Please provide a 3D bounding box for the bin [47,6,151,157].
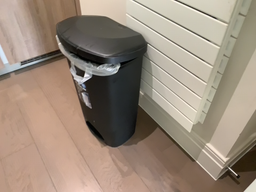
[{"bbox_3d":[-0.130,-0.050,1.100,0.300,0.650,0.330,-26,51,-25],"label":"bin"}]
